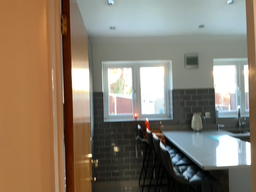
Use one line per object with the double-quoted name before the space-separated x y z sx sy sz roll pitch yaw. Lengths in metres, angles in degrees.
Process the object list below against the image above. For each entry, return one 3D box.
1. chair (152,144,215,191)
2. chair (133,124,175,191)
"chair" 0.500 1.000 1.980 0.480 1.010 0.370 -2 0 1
"chair" 0.380 0.980 3.240 0.560 1.030 0.400 -2 0 1
